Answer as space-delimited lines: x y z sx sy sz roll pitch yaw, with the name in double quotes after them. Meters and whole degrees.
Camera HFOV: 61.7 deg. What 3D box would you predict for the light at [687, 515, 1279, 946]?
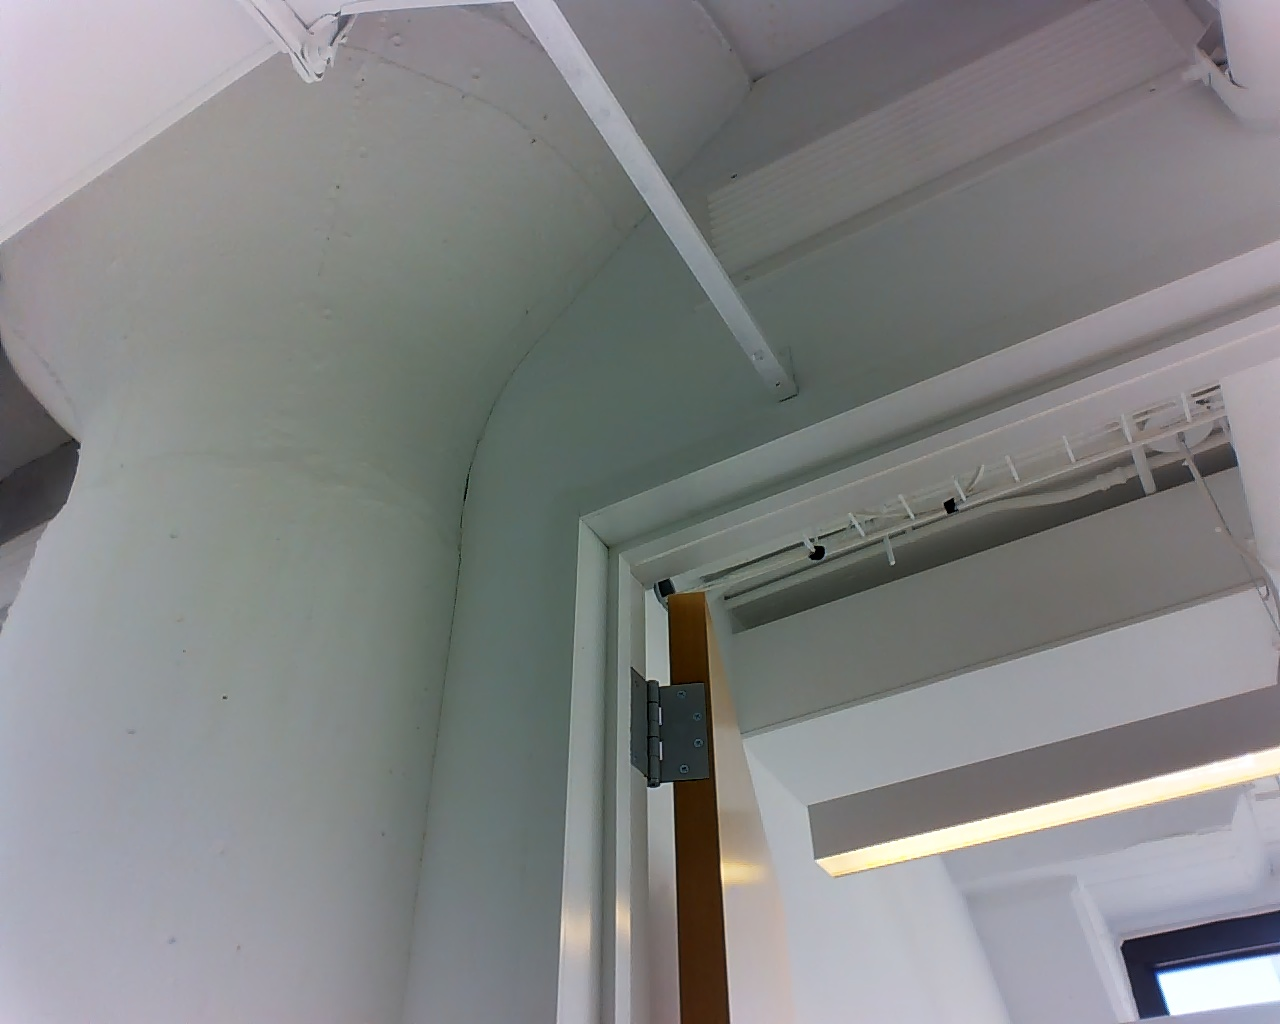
1.329 0.160 1.640 2.659 0.400 0.290 -21 -46 21 "light"
